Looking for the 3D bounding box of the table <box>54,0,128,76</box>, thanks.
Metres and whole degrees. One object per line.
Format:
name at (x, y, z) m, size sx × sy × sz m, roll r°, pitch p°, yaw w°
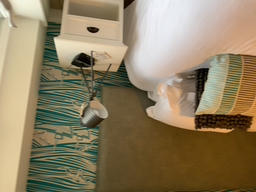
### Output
table at (-0.280, -0.560, 1.650) m, size 0.450 × 0.620 × 0.550 m, roll 4°, pitch 165°, yaw -13°
